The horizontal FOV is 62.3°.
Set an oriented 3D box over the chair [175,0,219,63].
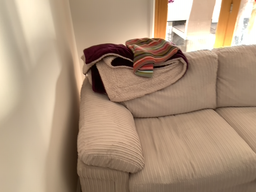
[{"bbox_3d":[1.080,-1.120,3.440,0.380,1.010,0.530,-4,32,-5],"label":"chair"}]
